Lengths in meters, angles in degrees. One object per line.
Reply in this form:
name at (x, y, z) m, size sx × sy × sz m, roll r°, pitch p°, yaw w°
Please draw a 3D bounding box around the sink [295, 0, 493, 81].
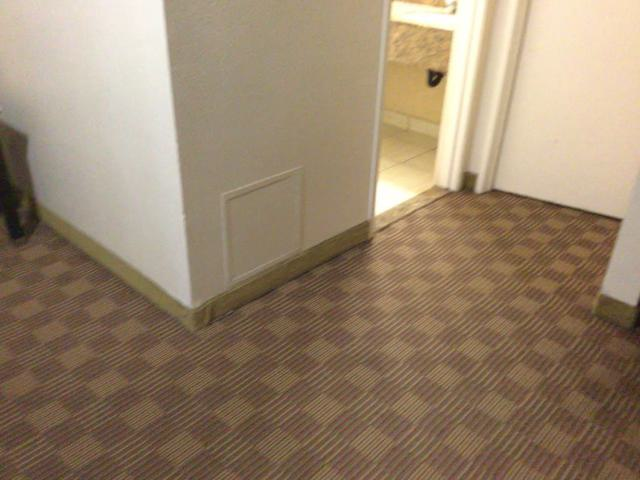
sink at (0.400, -1.180, 3.310) m, size 0.940 × 0.310 × 0.580 m, roll 22°, pitch 34°, yaw 35°
